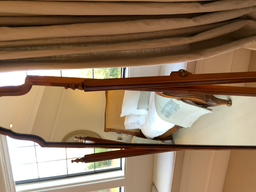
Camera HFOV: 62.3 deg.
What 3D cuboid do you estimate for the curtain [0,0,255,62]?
[{"bbox_3d":[-0.150,-0.560,1.050,0.290,2.350,0.730,-131,41,-67],"label":"curtain"}]
